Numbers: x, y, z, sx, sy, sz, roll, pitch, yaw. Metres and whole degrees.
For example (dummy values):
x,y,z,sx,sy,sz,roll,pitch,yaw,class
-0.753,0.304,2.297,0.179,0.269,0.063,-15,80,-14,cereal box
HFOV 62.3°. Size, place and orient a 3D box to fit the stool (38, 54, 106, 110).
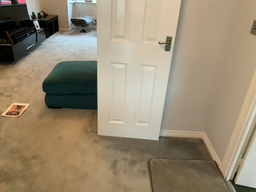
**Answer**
x,y,z,sx,sy,sz,roll,pitch,yaw,class
-0.650,-0.200,2.670,0.660,0.420,0.670,4,28,-2,stool
